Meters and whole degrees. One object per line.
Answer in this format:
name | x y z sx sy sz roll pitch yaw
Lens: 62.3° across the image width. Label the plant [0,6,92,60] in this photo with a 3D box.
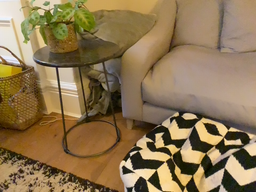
plant | -0.370 -0.310 1.000 0.310 0.180 0.220 11 31 21
